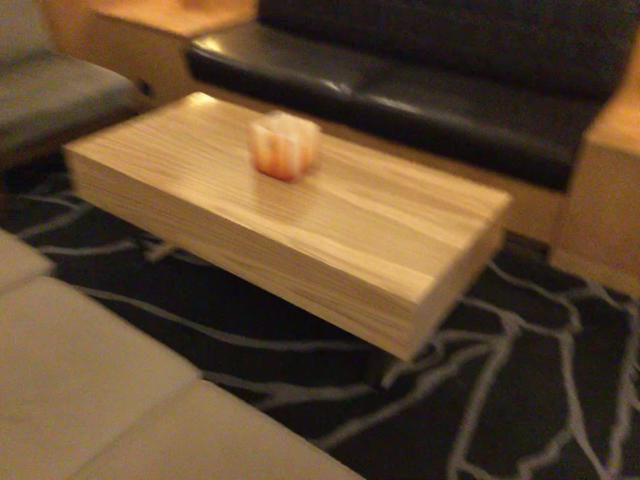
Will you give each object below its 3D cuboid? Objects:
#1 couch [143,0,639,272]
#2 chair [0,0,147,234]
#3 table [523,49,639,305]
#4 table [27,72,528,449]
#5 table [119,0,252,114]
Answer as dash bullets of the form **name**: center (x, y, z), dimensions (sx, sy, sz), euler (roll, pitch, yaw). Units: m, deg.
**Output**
- **couch**: center (0.230, -0.800, 2.560), dimensions (2.040, 0.970, 0.740), euler (23, 36, 25)
- **chair**: center (-1.250, -0.610, 2.340), dimensions (0.660, 0.780, 0.750), euler (23, 36, 25)
- **table**: center (1.280, -0.200, 2.040), dimensions (0.770, 0.660, 0.670), euler (23, 36, 25)
- **table**: center (-0.170, -0.060, 1.880), dimensions (1.380, 0.530, 0.660), euler (23, 36, 25)
- **table**: center (-0.690, -1.030, 3.090), dimensions (0.310, 0.490, 0.630), euler (23, 36, 25)
